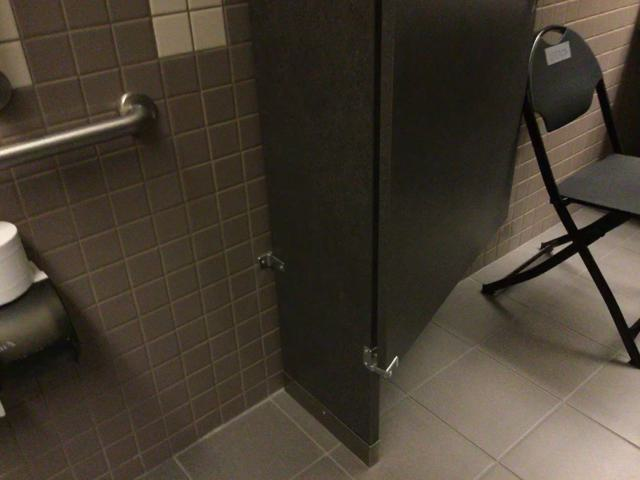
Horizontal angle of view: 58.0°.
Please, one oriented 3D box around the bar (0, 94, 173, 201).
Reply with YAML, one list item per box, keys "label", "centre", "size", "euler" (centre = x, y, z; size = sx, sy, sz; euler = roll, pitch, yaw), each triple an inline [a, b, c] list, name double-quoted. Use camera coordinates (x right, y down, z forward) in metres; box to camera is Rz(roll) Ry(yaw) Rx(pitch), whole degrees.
- label: "bar"
  centre: [-0.720, -0.020, 0.810]
  size: [1.080, 0.080, 0.090]
  euler: [-27, 34, -31]
